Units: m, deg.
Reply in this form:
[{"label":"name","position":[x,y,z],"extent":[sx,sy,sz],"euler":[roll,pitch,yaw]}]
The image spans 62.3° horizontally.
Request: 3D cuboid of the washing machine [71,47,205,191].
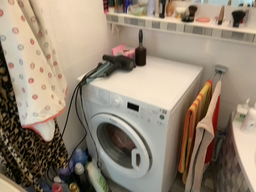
[{"label":"washing machine","position":[0.100,0.210,1.500],"extent":[0.550,0.840,0.650],"euler":[19,39,26]}]
